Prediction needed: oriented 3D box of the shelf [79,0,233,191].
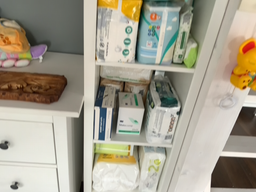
[{"bbox_3d":[0.010,0.100,1.030,0.410,1.440,0.420,5,31,-5],"label":"shelf"}]
